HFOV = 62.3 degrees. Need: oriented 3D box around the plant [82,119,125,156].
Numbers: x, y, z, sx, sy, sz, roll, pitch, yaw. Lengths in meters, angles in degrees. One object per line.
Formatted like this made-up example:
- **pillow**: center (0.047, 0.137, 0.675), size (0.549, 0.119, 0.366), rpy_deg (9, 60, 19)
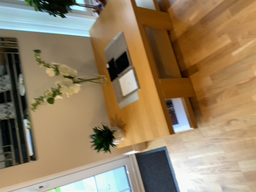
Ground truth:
- **plant**: center (-0.210, 0.350, 1.770), size (0.270, 0.220, 0.220), rpy_deg (-31, 70, 51)
